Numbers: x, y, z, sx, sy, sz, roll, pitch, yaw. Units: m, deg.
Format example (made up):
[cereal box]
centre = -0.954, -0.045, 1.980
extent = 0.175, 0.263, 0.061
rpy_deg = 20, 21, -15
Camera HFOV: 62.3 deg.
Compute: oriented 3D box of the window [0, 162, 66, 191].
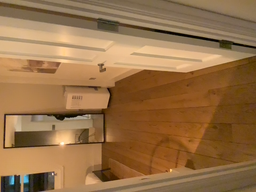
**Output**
[window]
centre = -1.820, 1.720, 4.060
extent = 0.070, 1.230, 0.730
rpy_deg = 168, 102, -64
